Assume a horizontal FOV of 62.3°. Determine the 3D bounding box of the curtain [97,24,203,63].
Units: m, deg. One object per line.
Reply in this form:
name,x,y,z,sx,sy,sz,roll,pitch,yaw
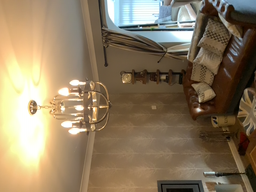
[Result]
curtain,0.330,-0.860,3.510,0.180,1.620,0.620,-91,1,-46
